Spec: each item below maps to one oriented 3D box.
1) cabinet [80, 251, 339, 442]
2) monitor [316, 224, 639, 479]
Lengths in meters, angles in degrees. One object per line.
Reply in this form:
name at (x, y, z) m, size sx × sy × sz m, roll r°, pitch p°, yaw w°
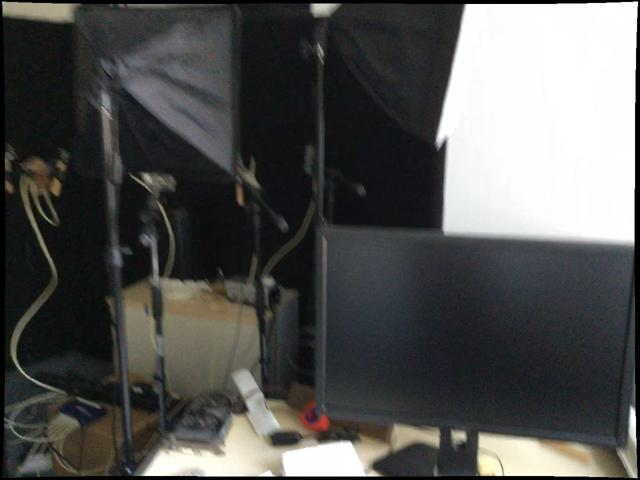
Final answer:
cabinet at (-0.470, 0.450, 2.710) m, size 1.019 × 0.601 × 0.550 m, roll 4°, pitch 17°, yaw 13°
monitor at (0.280, 0.250, 1.070) m, size 0.559 × 0.520 × 0.120 m, roll 3°, pitch 16°, yaw 10°
